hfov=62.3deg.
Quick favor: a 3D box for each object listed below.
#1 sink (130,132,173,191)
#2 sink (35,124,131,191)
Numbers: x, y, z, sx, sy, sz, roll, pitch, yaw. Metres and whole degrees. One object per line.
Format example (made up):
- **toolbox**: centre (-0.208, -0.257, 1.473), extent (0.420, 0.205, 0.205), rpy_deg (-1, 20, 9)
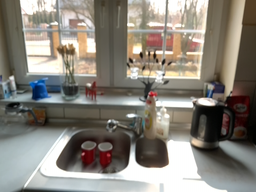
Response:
- **sink**: centre (0.110, 0.350, 1.110), extent (0.190, 0.190, 0.300), rpy_deg (2, 18, 2)
- **sink**: centre (-0.190, 0.340, 1.140), extent (0.400, 0.180, 0.450), rpy_deg (2, 18, 2)
